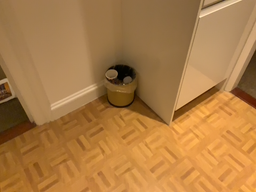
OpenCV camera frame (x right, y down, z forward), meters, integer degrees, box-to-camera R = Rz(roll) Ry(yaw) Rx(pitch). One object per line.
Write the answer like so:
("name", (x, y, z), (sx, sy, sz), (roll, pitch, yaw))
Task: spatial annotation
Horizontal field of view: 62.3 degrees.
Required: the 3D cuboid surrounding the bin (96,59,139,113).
("bin", (-0.080, -0.080, 1.690), (0.230, 0.280, 0.230), (-29, 54, -25))
